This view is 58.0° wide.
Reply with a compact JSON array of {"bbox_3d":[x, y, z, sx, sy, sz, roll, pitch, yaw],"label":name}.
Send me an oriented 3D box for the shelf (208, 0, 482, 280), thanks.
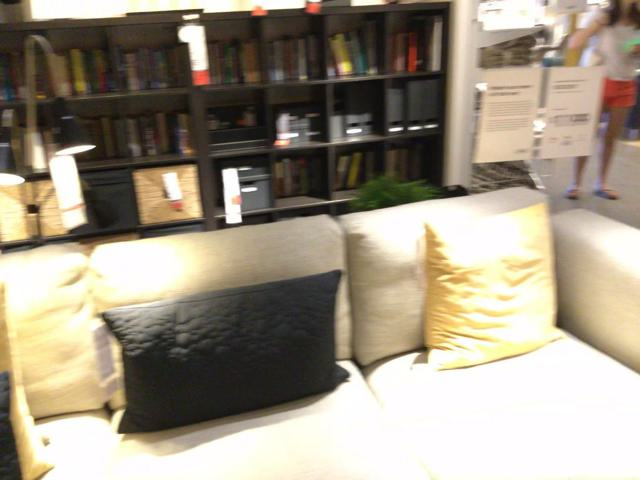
[{"bbox_3d":[0.180,-0.720,3.360,1.420,1.620,0.470,-9,19,-12],"label":"shelf"}]
